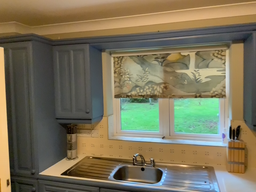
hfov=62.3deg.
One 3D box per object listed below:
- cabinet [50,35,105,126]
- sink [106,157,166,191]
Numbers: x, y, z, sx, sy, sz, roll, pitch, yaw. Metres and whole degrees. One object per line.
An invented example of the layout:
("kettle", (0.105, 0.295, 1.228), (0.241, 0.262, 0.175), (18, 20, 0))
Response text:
("cabinet", (-0.510, -0.150, 2.190), (0.430, 0.850, 0.300), (0, 4, 16))
("sink", (0.100, 0.760, 1.980), (0.460, 0.180, 0.490), (0, 4, 16))
